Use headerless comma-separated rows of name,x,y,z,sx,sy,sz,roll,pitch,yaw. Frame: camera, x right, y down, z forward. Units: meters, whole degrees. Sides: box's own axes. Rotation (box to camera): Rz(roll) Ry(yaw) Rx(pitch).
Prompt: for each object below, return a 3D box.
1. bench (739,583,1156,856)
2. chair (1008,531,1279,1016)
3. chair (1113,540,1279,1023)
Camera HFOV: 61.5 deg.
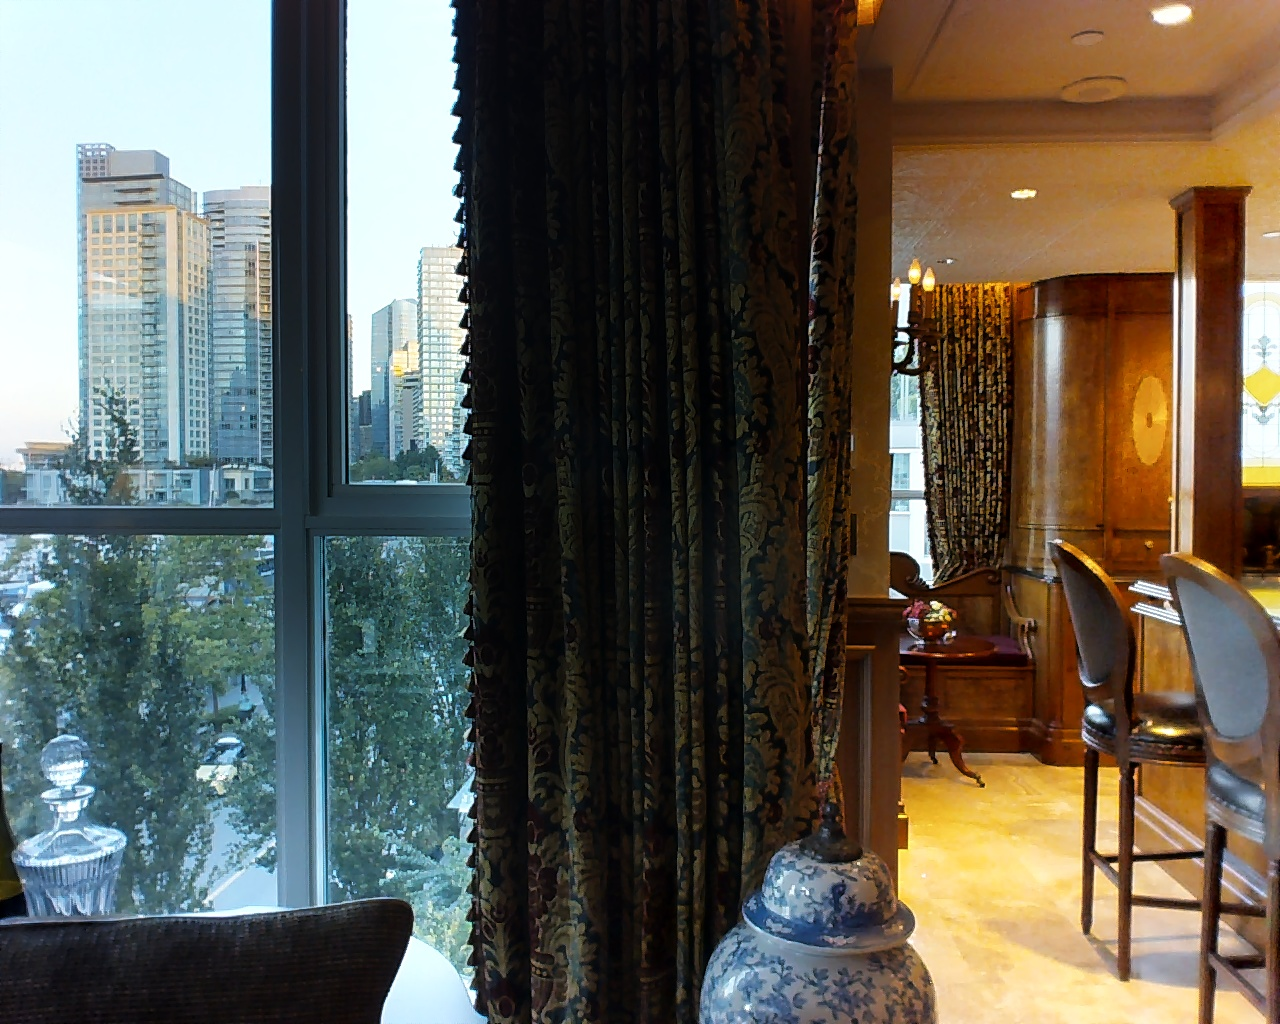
bench,1.250,0.850,5.090,1.490,0.830,2.010,0,2,3
chair,1.510,0.700,3.130,0.690,1.260,0.560,0,2,3
chair,1.500,0.710,2.400,0.650,1.260,0.570,0,2,6
